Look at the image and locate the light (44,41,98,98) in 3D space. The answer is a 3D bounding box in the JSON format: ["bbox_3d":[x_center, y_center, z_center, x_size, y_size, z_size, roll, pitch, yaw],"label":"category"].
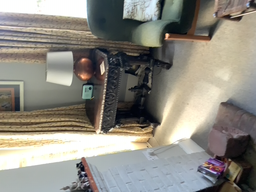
[{"bbox_3d":[-0.590,-0.270,2.110,0.450,0.420,0.430,42,129,55],"label":"light"}]
